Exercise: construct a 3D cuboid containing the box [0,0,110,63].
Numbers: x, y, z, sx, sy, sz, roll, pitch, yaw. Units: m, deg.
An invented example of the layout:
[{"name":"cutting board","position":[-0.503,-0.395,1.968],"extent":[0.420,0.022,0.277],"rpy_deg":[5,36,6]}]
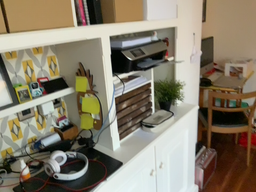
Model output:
[{"name":"box","position":[-0.320,-0.350,0.820],"extent":[0.230,0.350,0.430],"rpy_deg":[13,26,39]}]
